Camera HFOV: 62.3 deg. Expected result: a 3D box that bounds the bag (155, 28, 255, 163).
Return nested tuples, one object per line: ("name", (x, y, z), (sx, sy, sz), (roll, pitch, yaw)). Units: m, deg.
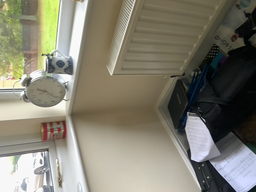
("bag", (0.490, 0.030, 1.190), (0.310, 0.340, 0.690), (63, 143, 39))
